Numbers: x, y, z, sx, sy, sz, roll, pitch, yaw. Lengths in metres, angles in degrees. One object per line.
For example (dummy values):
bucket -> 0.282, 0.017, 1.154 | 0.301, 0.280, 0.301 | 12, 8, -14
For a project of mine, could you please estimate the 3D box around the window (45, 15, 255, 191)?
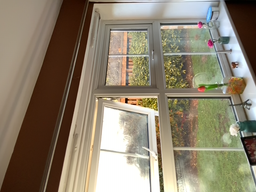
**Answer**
window -> 0.220, -0.030, 1.630 | 0.180, 1.310, 1.720 | 86, -176, -54
